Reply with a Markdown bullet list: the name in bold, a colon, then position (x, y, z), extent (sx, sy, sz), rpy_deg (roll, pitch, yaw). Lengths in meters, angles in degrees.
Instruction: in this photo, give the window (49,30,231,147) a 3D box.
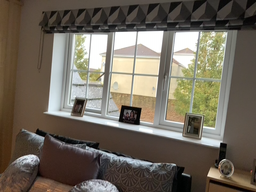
- **window**: position (-0.030, -0.160, 2.090), extent (1.770, 0.940, 0.090), rpy_deg (8, 4, 23)
